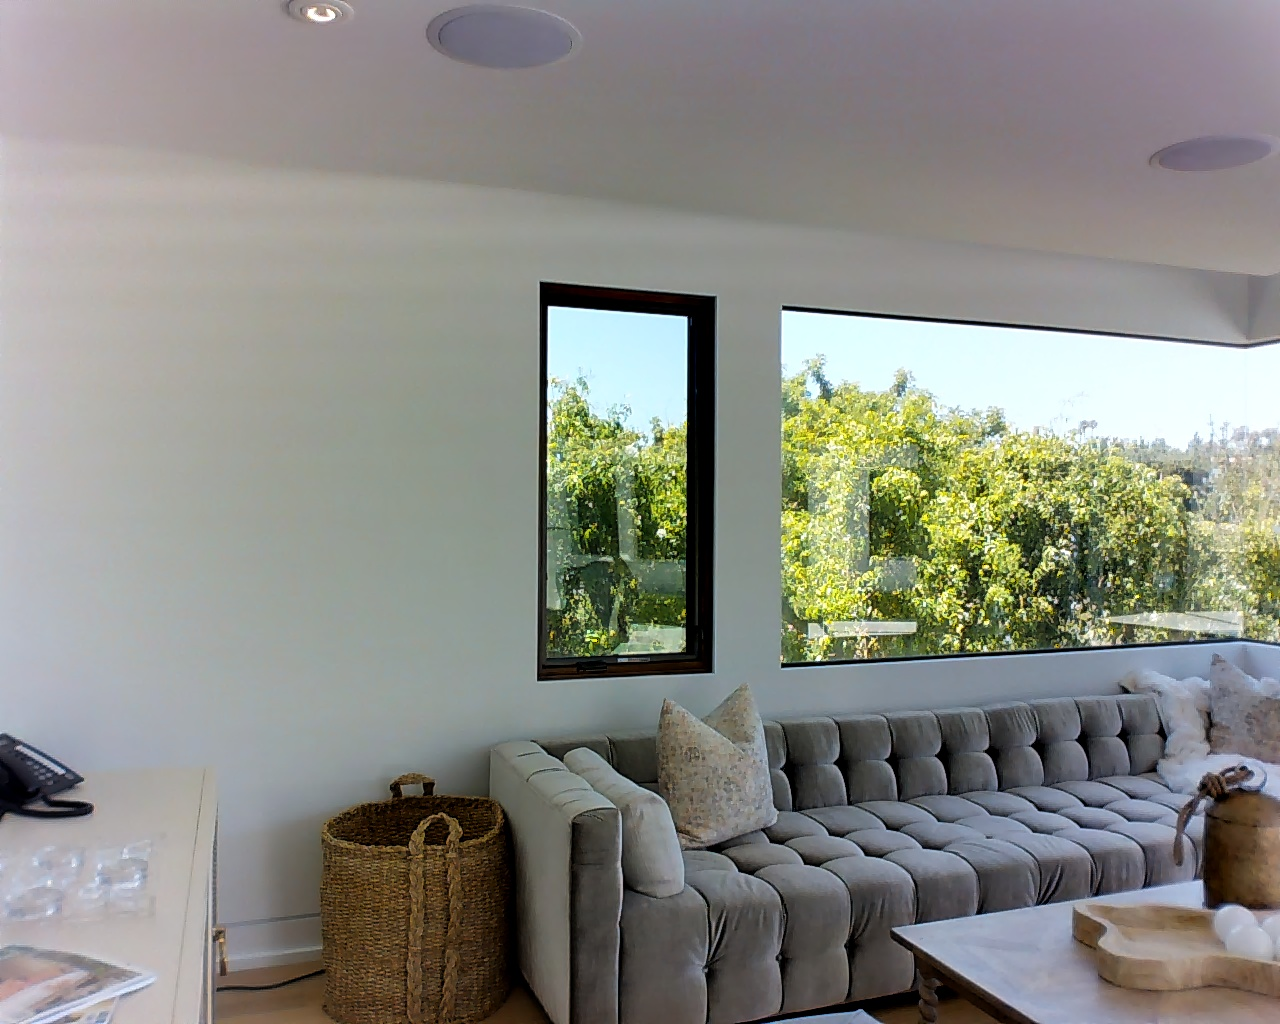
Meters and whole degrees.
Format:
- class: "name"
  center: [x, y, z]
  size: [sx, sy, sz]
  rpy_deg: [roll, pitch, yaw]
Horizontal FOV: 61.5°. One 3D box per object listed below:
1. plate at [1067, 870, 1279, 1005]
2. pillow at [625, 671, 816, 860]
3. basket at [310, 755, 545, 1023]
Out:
- class: "plate"
  center: [1.540, 1.040, 2.590]
  size: [0.920, 0.120, 0.430]
  rpy_deg: [1, 0, 17]
- class: "pillow"
  center: [0.290, 0.870, 3.820]
  size: [0.570, 0.510, 0.390]
  rpy_deg: [0, 1, -42]
- class: "basket"
  center: [-0.710, 1.200, 3.470]
  size: [0.640, 0.630, 0.690]
  rpy_deg: [0, 0, -20]
